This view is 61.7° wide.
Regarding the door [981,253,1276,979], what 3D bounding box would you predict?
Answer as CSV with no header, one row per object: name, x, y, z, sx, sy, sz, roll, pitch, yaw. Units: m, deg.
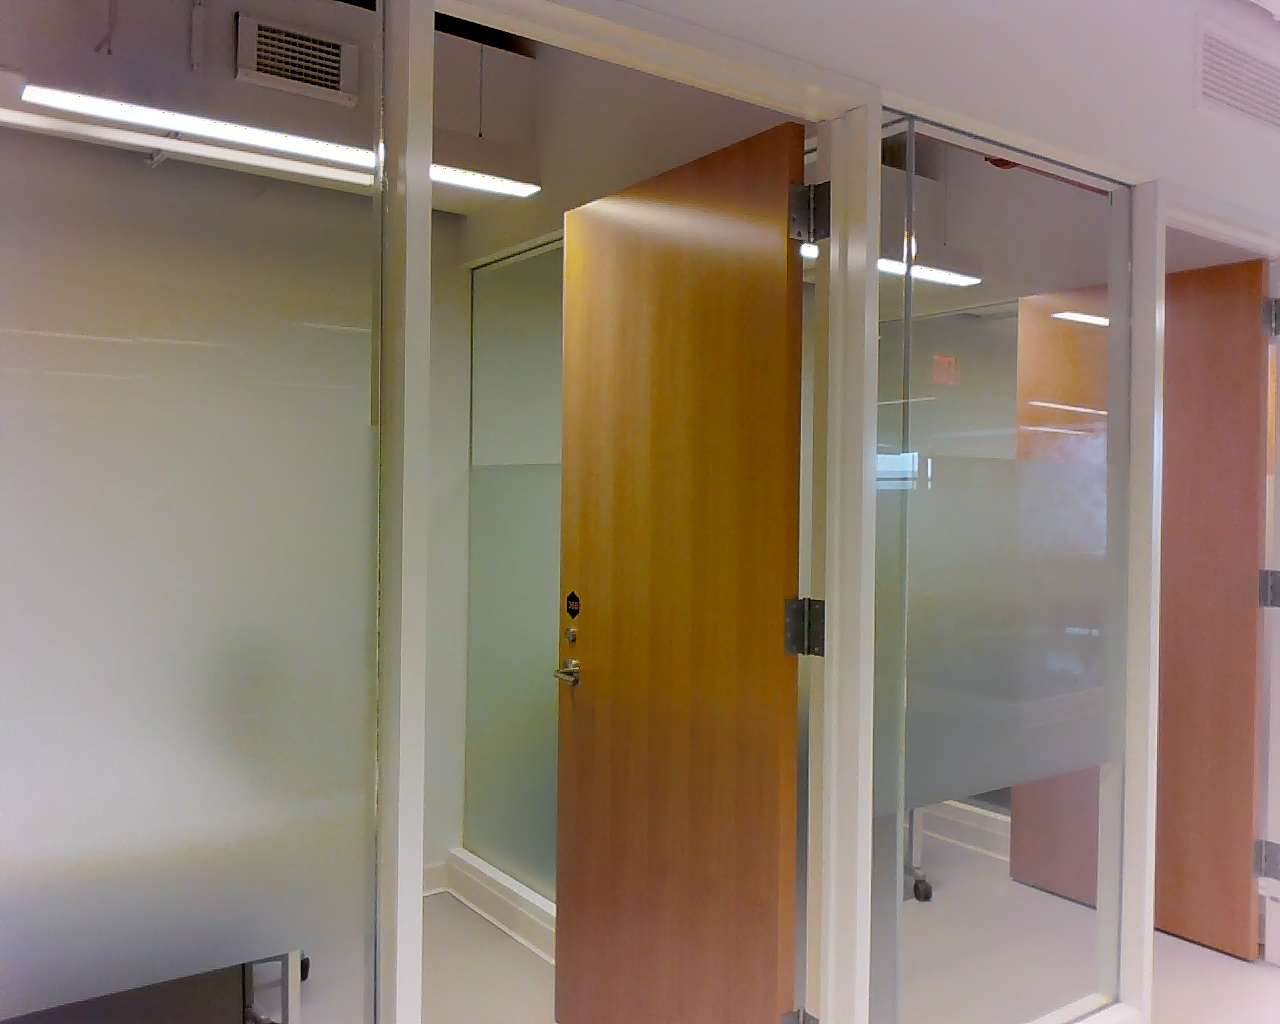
door,1.660,0.320,3.750,0.120,2.250,0.980,0,0,-36
